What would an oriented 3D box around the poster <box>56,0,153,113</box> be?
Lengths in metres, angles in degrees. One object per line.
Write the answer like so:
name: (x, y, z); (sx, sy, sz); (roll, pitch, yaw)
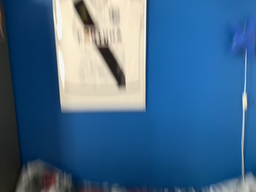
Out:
poster: (-0.150, -0.340, 1.480); (0.630, 0.910, 0.100); (-1, 10, -2)
